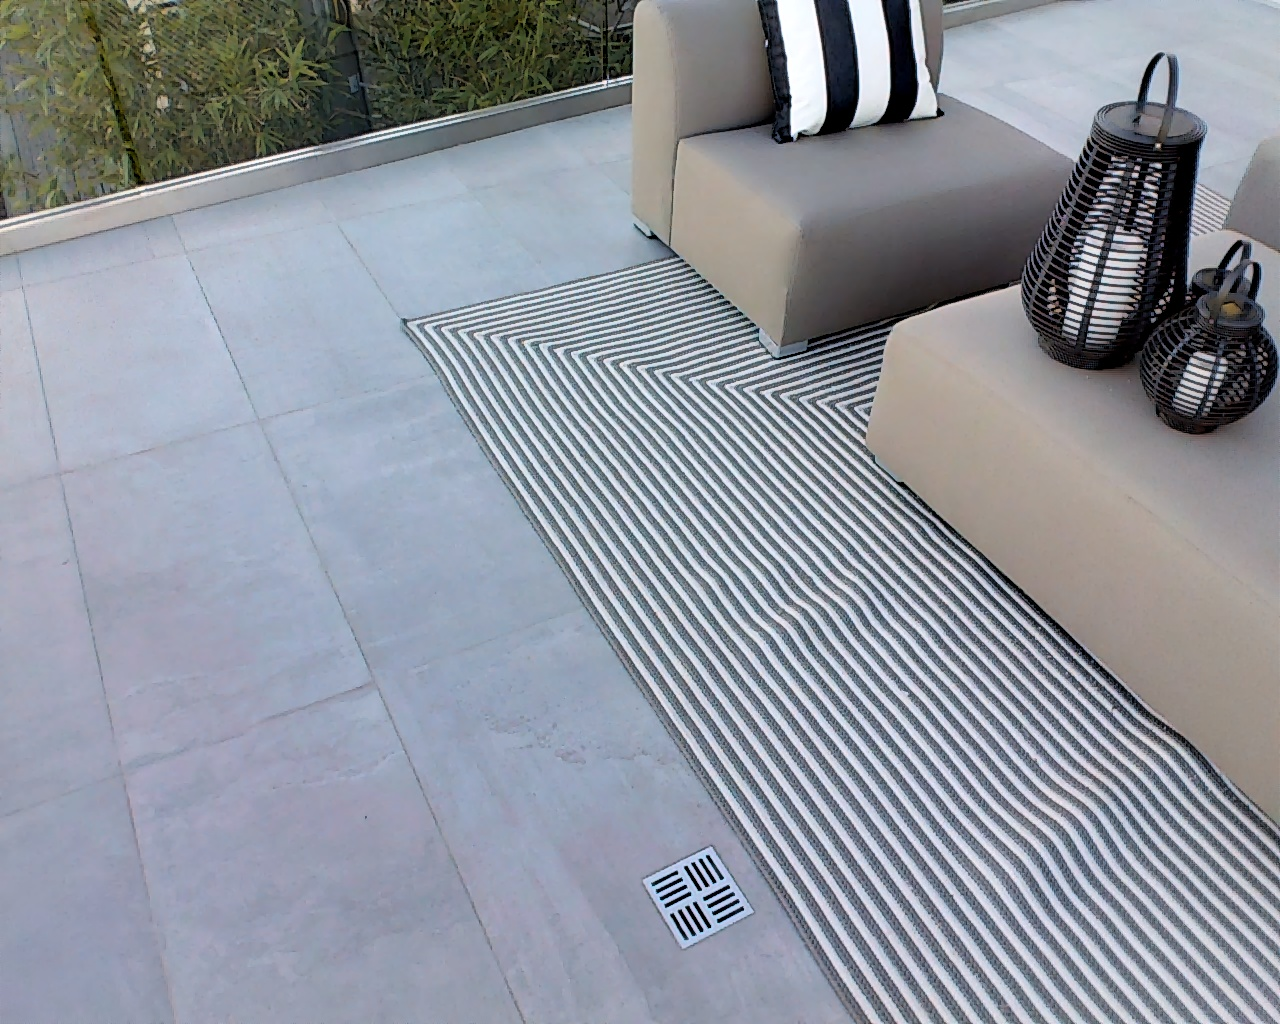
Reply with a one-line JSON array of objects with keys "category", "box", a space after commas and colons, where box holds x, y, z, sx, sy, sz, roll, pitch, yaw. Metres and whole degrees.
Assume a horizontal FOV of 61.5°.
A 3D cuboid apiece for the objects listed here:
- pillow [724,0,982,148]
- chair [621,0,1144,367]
[{"category": "pillow", "box": [0.570, -1.320, 2.900, 0.530, 0.450, 0.390, -18, 45, -20]}, {"category": "chair", "box": [0.590, -1.060, 3.020, 0.960, 0.700, 0.950, -18, 45, -20]}]
